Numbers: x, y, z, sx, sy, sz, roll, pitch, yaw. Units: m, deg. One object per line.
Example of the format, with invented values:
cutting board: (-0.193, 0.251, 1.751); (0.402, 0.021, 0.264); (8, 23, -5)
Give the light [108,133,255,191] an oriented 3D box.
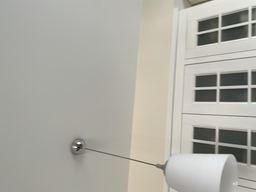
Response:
light: (0.340, 0.400, 1.110); (0.530, 0.720, 0.360); (-5, 81, 40)
